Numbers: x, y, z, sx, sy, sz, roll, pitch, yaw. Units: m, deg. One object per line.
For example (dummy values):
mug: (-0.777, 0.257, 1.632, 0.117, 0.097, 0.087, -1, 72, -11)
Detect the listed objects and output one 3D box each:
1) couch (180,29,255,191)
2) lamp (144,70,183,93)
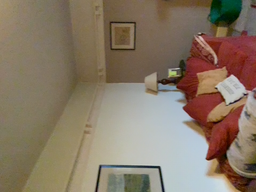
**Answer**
couch: (1.280, -0.040, 2.560, 2.010, 0.720, 1.100, -91, 1, -61)
lamp: (0.610, -0.260, 3.740, 0.300, 0.610, 0.310, -91, 1, -61)
